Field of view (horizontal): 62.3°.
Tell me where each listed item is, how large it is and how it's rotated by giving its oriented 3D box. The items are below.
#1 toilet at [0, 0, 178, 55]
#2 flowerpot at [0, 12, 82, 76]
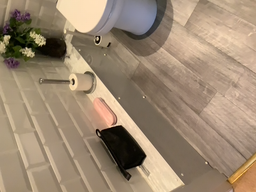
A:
[{"bbox_3d":[-0.260,-0.600,1.190,0.650,0.810,0.370,48,123,33],"label":"toilet"},{"bbox_3d":[-0.630,-0.330,1.420,0.260,0.510,0.270,48,123,33],"label":"flowerpot"}]
